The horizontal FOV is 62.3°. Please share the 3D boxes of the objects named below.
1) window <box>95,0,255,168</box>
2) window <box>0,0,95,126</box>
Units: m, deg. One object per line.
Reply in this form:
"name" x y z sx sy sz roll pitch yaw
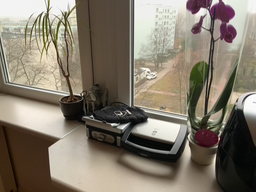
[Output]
"window" 0.290 -0.440 0.780 0.900 1.420 0.120 10 22 23
"window" -0.630 -0.620 1.170 0.850 1.460 0.210 10 22 23
